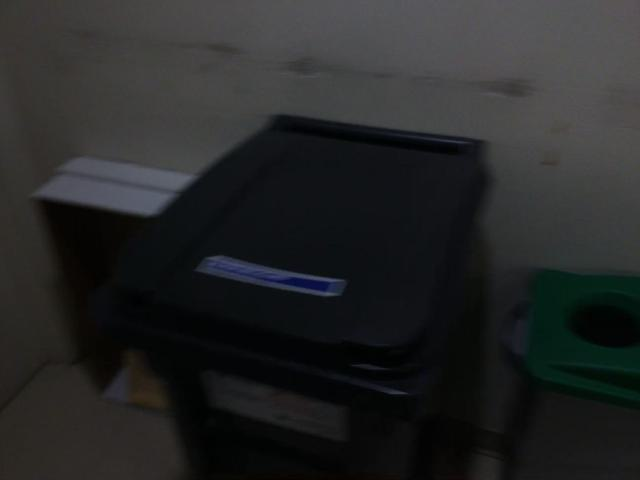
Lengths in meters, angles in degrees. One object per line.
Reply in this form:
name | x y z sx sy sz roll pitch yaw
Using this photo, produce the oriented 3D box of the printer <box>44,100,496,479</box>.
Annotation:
printer | 0.020 0.300 1.110 0.480 0.940 0.590 7 35 17
